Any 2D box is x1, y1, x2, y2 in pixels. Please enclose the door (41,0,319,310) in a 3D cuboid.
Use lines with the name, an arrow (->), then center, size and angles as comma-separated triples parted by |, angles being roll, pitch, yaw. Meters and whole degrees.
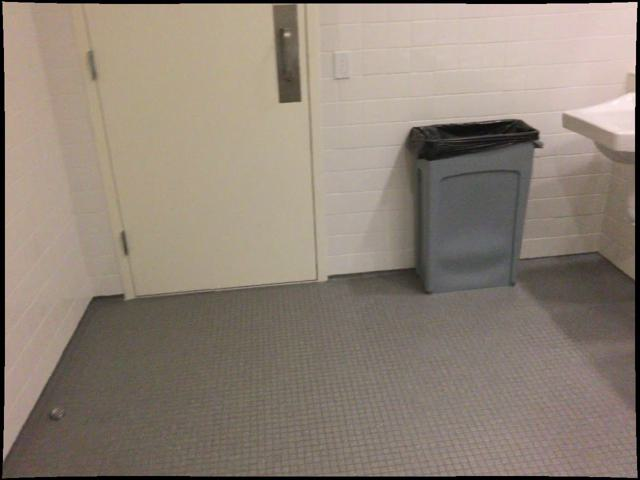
door -> -0.578, -0.772, 2.460 | 1.027, 2.285, 0.110 | -5, 24, -5
